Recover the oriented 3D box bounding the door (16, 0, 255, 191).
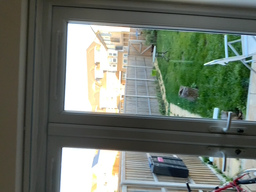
[{"bbox_3d":[0.520,0.200,1.260,0.100,2.240,1.430,177,97,-88],"label":"door"}]
